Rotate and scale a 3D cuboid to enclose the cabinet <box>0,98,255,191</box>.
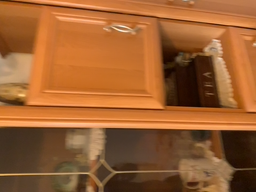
[{"bbox_3d":[0.420,0.300,0.910,0.390,2.090,0.410,121,149,-66],"label":"cabinet"}]
